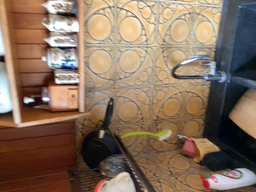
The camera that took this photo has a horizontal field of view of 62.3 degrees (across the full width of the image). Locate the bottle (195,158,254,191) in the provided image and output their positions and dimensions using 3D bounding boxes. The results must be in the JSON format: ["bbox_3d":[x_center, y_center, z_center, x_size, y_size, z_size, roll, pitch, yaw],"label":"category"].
[{"bbox_3d":[0.440,0.370,0.970,0.110,0.220,0.090,-141,51,-65],"label":"bottle"}]
